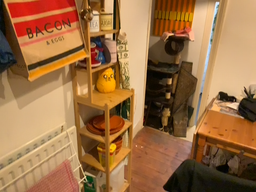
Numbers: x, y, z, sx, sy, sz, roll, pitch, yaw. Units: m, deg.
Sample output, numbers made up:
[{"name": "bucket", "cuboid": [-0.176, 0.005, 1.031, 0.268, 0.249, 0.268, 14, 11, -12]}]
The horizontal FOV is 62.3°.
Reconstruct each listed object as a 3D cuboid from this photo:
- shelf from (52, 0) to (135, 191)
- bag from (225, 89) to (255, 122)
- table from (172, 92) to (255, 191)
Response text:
[{"name": "shelf", "cuboid": [-0.210, 0.130, 1.550, 0.290, 1.550, 0.420, 15, 27, 26]}, {"name": "bag", "cuboid": [0.990, 0.070, 1.780, 0.250, 0.090, 0.400, 16, 27, 28]}, {"name": "table", "cuboid": [0.980, 0.540, 1.760, 0.940, 0.740, 0.770, 16, 27, 28]}]
